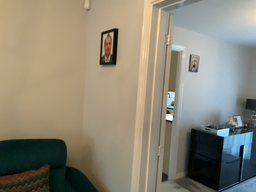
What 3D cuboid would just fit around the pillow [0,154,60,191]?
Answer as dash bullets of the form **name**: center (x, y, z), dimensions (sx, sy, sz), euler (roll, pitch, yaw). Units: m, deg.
- **pillow**: center (-0.730, 0.720, 1.470), dimensions (0.450, 0.410, 0.190), euler (-27, 19, -32)
